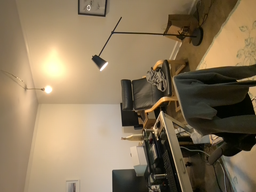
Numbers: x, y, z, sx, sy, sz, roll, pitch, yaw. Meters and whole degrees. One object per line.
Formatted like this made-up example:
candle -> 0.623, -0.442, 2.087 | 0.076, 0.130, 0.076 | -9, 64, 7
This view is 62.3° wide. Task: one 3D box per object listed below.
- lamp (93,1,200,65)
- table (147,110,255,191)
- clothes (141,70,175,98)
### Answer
lamp -> 0.220, -0.910, 3.230 | 0.770, 1.440, 0.350 | 108, 159, -51
table -> 0.750, 0.830, 2.240 | 0.610, 0.770, 1.230 | 106, 161, -49
clothes -> 0.470, -0.220, 3.560 | 0.780, 0.280, 0.370 | -141, 53, -73
